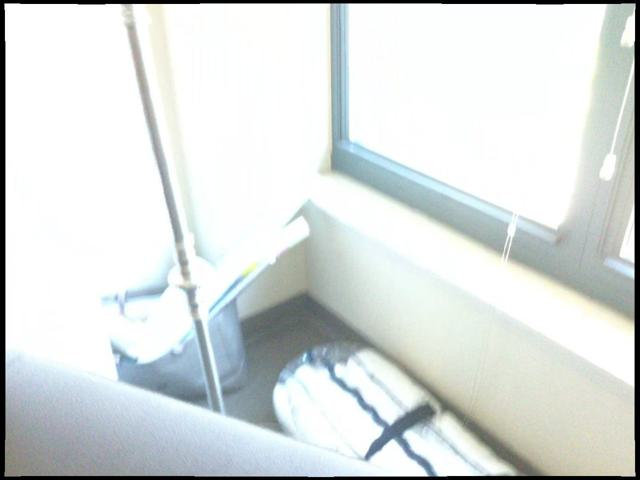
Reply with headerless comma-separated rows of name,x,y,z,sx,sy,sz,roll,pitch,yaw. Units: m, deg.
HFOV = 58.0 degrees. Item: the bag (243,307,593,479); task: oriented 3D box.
bag,0.279,0.591,1.380,0.420,0.230,1.030,-24,39,-30
